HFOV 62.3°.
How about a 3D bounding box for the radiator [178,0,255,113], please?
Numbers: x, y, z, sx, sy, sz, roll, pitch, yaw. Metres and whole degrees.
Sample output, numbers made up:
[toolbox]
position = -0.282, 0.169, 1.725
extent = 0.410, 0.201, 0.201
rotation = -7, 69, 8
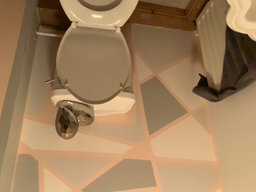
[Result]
[radiator]
position = 0.520, -0.340, 1.220
extent = 0.140, 0.720, 0.600
rotation = 4, 157, -12

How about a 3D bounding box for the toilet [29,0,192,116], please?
[toilet]
position = -0.120, -0.400, 1.030
extent = 0.440, 0.800, 0.690
rotation = 4, 156, -13
